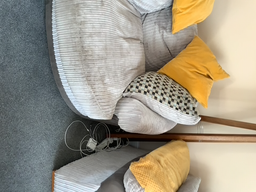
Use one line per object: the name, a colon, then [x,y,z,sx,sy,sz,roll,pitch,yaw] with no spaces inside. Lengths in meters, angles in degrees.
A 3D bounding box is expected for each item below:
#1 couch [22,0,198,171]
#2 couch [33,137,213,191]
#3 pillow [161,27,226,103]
couch: [0.010,-0.420,1.510,1.110,0.750,1.360,-17,105,-62]
couch: [0.080,0.880,1.510,1.120,0.870,0.980,9,82,-63]
pillow: [0.550,-0.200,1.710,0.500,0.420,0.470,11,80,-63]
